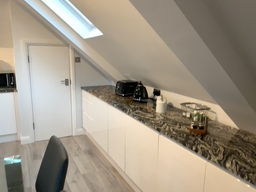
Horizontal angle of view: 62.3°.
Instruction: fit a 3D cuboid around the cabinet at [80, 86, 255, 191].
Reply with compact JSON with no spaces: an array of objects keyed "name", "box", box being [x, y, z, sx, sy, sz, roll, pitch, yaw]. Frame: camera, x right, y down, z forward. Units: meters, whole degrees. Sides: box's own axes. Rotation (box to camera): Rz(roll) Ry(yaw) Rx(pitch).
[{"name":"cabinet","box":[0.330,0.620,2.300,0.640,0.860,3.760,-5,14,-28]}]
